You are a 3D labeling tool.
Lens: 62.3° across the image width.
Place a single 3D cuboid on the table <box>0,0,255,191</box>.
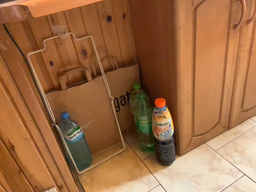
[{"bbox_3d":[0.390,-0.200,0.940,1.510,0.750,0.400,-22,34,-19],"label":"table"}]
